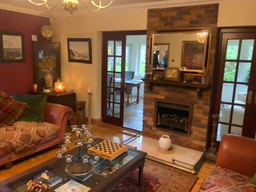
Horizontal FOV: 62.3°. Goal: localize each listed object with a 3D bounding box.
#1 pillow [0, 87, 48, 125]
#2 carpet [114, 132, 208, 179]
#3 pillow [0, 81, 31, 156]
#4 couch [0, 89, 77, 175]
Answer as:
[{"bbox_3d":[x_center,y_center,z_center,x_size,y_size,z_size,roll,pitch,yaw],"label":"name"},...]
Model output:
[{"bbox_3d":[-1.790,0.160,3.690,0.640,0.560,0.450,1,11,-8],"label":"pillow"},{"bbox_3d":[0.560,0.940,3.600,1.390,0.140,0.760,9,13,29],"label":"carpet"},{"bbox_3d":[-2.010,0.330,3.430,0.460,1.070,0.590,9,13,29],"label":"pillow"},{"bbox_3d":[-2.000,0.500,3.100,1.110,0.840,2.280,10,13,32],"label":"couch"}]
